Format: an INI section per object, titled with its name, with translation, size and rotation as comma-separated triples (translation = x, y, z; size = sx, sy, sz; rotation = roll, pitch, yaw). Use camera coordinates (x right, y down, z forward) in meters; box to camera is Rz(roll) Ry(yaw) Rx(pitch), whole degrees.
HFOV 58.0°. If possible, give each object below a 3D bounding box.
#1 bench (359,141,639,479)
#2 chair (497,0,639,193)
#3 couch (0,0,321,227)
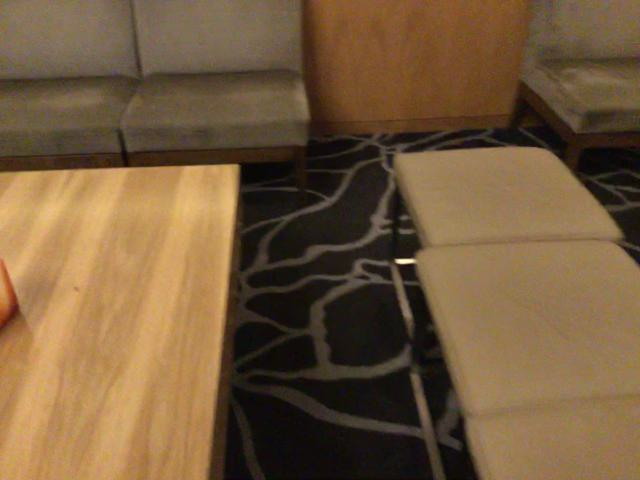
[bench]
translation = 0.520, 0.290, 1.380
size = 0.610, 0.440, 1.490
rotation = -4, 34, -5
[chair]
translation = 1.340, -0.750, 2.560
size = 0.760, 0.800, 0.700
rotation = -4, 34, -4
[couch]
translation = -0.790, -0.620, 2.410
size = 1.520, 0.820, 0.690
rotation = -4, 34, -4
